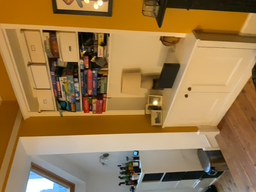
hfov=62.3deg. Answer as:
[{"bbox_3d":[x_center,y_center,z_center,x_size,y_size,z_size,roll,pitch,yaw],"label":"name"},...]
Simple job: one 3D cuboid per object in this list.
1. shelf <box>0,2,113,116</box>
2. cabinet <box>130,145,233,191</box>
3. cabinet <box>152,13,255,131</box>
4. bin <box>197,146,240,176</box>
[{"bbox_3d":[-0.780,-0.320,2.470,1.330,1.090,0.330,100,166,-45],"label":"shelf"},{"bbox_3d":[0.880,1.350,3.820,0.890,1.530,0.470,100,166,-47],"label":"cabinet"},{"bbox_3d":[0.870,-0.220,2.650,1.330,0.790,0.620,100,166,-45],"label":"cabinet"},{"bbox_3d":[1.460,1.060,3.460,0.290,0.490,0.350,101,166,-47],"label":"bin"}]
